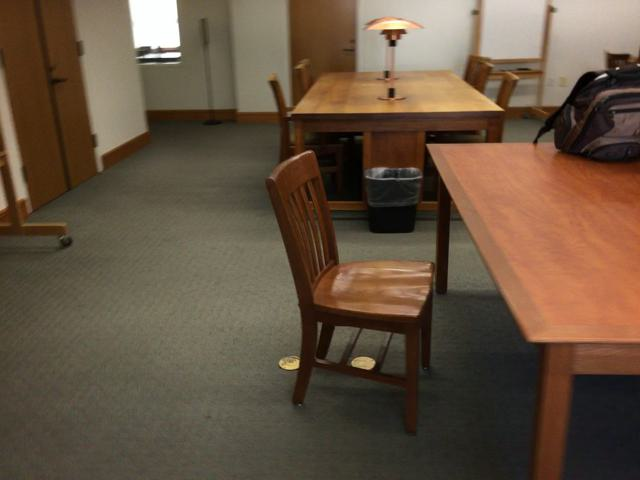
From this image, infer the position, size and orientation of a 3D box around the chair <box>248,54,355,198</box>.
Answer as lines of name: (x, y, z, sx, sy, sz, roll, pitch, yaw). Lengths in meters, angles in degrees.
chair: (-0.100, -0.870, 4.390, 0.670, 0.930, 0.590, -1, 25, 7)

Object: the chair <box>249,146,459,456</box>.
chair: (0.170, 0.180, 2.050, 0.570, 0.890, 0.560, 3, 26, 16)

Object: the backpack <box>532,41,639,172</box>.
backpack: (1.180, -0.560, 2.380, 0.450, 0.420, 0.450, -1, 25, 6)

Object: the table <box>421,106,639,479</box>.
table: (0.910, 0.180, 2.040, 0.960, 0.870, 1.770, -1, 25, 6)

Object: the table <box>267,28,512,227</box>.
table: (0.560, -1.130, 4.960, 1.480, 0.970, 2.750, -1, 25, 6)
